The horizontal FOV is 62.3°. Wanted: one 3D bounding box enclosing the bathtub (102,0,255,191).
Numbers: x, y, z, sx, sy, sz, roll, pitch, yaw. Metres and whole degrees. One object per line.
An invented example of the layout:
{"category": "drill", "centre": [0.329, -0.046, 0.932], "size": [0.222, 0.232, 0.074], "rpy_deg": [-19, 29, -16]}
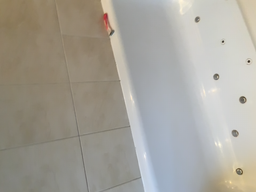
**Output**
{"category": "bathtub", "centre": [0.430, -0.060, 0.980], "size": [0.750, 0.580, 1.690], "rpy_deg": [-28, 71, 53]}
